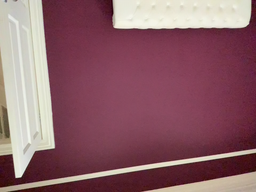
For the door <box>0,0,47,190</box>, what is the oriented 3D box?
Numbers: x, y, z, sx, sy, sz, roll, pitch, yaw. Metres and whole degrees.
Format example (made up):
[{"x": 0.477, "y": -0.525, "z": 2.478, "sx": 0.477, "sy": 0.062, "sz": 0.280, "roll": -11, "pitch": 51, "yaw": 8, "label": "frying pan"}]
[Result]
[{"x": -0.840, "y": -0.470, "z": 1.610, "sx": 0.140, "sy": 2.120, "sz": 0.710, "roll": -5, "pitch": -171, "yaw": -14, "label": "door"}]
